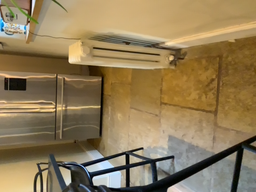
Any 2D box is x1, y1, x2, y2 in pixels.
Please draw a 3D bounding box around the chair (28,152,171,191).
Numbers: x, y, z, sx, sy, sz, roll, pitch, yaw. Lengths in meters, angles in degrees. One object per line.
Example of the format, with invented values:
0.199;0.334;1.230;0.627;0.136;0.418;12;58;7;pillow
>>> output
-0.220;0.780;1.660;0.470;1.000;0.430;11;99;61;chair
